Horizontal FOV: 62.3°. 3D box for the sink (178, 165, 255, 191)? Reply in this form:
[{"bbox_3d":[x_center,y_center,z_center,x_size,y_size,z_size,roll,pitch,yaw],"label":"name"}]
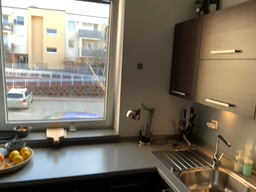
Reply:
[{"bbox_3d":[0.670,0.740,1.500,0.470,0.290,0.410,1,9,-17],"label":"sink"}]
